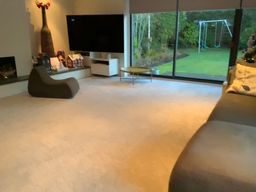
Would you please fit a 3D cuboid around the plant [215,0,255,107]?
[{"bbox_3d":[2.080,-0.920,3.270,0.980,2.010,0.900,11,20,32],"label":"plant"}]

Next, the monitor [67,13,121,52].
[{"bbox_3d":[-0.810,-1.490,5.010,1.320,0.840,0.080,5,17,16],"label":"monitor"}]

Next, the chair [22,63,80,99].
[{"bbox_3d":[-1.290,-0.280,3.680,0.740,0.500,0.580,1,17,0],"label":"chair"}]
